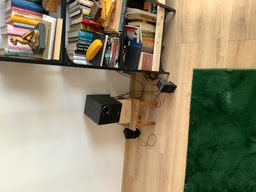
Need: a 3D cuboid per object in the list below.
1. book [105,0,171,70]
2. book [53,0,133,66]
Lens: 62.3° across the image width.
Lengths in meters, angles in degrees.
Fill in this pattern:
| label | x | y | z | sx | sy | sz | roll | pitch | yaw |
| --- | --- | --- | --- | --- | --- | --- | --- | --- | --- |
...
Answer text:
| label | x | y | z | sx | sy | sz | roll | pitch | yaw |
| --- | --- | --- | --- | --- | --- | --- | --- | --- | --- |
| book | 0.080 | -0.480 | 1.730 | 0.320 | 0.390 | 0.500 | 11 | 100 | 46 |
| book | -0.250 | -0.460 | 1.460 | 0.400 | 0.370 | 0.470 | 10 | 99 | 46 |
